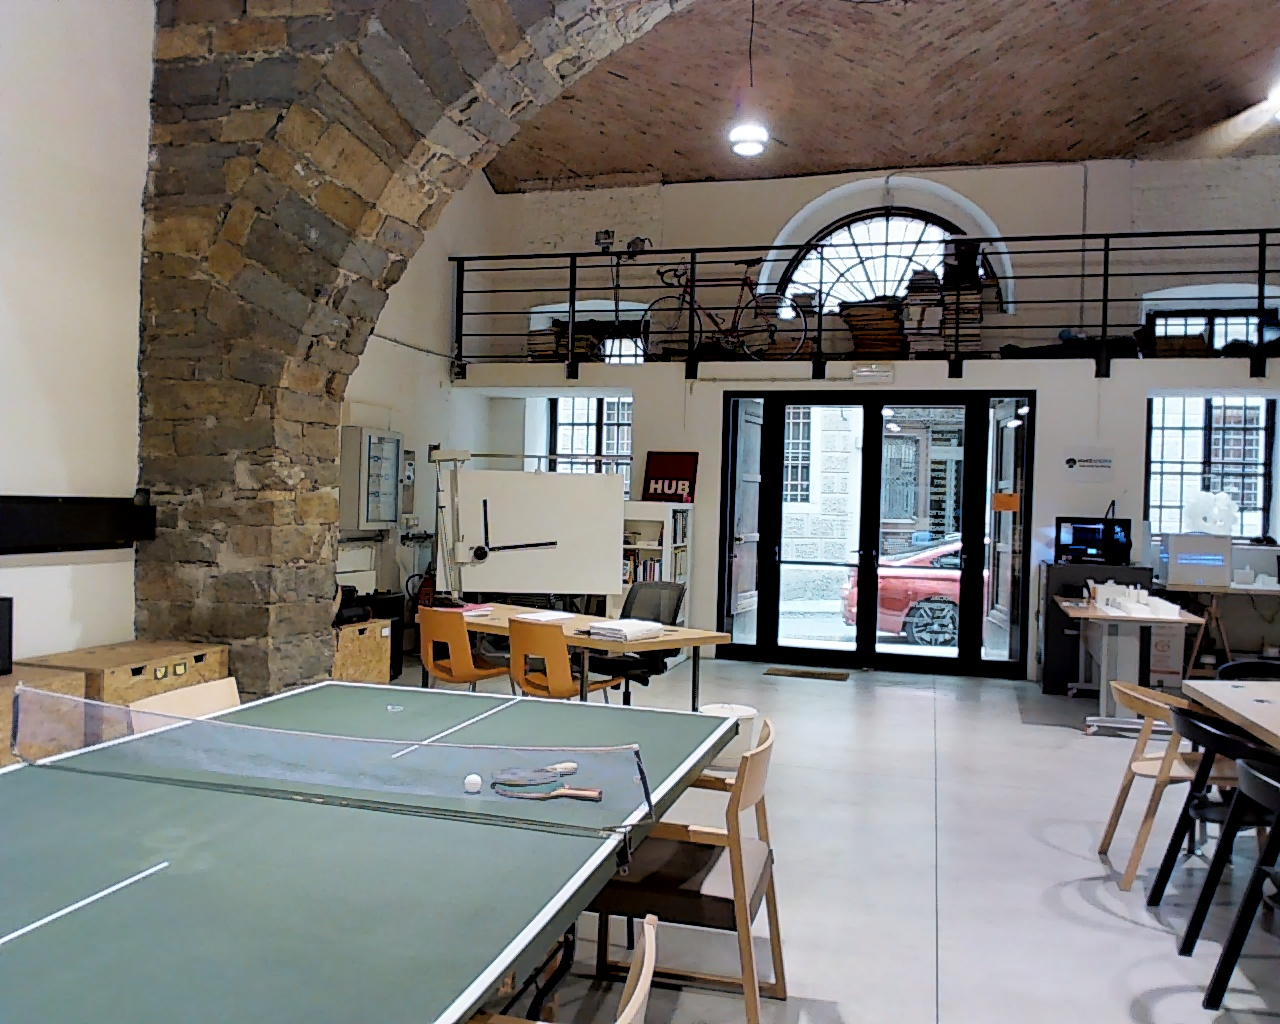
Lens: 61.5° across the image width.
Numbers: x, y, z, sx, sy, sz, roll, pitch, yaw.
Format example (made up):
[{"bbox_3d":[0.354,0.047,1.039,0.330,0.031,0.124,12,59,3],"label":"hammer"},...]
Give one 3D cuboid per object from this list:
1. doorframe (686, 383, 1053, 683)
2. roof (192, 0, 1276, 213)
[{"bbox_3d":[2.159,0.130,10.300,3.179,2.601,1.150,2,1,15],"label":"doorframe"},{"bbox_3d":[0.790,-3.571,7.750,6.548,0.790,6.650,2,1,15],"label":"roof"}]
